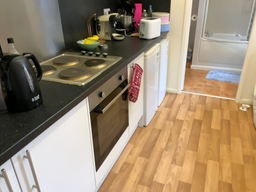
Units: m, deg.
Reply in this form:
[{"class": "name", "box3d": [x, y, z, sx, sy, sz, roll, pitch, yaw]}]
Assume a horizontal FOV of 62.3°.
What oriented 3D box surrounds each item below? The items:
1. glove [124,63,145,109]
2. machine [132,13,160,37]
[{"class": "glove", "box3d": [0.060, -0.090, 1.830, 0.080, 0.310, 0.260, 11, 29, 21]}, {"class": "machine", "box3d": [0.200, -0.780, 2.310, 0.210, 0.200, 0.310, 11, 29, 21]}]
